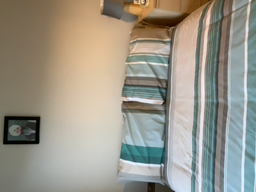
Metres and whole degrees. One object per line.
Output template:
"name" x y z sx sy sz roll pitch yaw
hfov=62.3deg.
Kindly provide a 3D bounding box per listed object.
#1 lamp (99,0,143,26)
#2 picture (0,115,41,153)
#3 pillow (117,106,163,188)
"lamp" -0.070 -0.880 2.060 0.250 0.370 0.270 177 96 -75
"picture" -1.010 0.360 1.990 0.040 0.340 0.340 177 97 -75
"pillow" 0.120 0.450 1.980 0.180 0.350 0.680 3 87 46
